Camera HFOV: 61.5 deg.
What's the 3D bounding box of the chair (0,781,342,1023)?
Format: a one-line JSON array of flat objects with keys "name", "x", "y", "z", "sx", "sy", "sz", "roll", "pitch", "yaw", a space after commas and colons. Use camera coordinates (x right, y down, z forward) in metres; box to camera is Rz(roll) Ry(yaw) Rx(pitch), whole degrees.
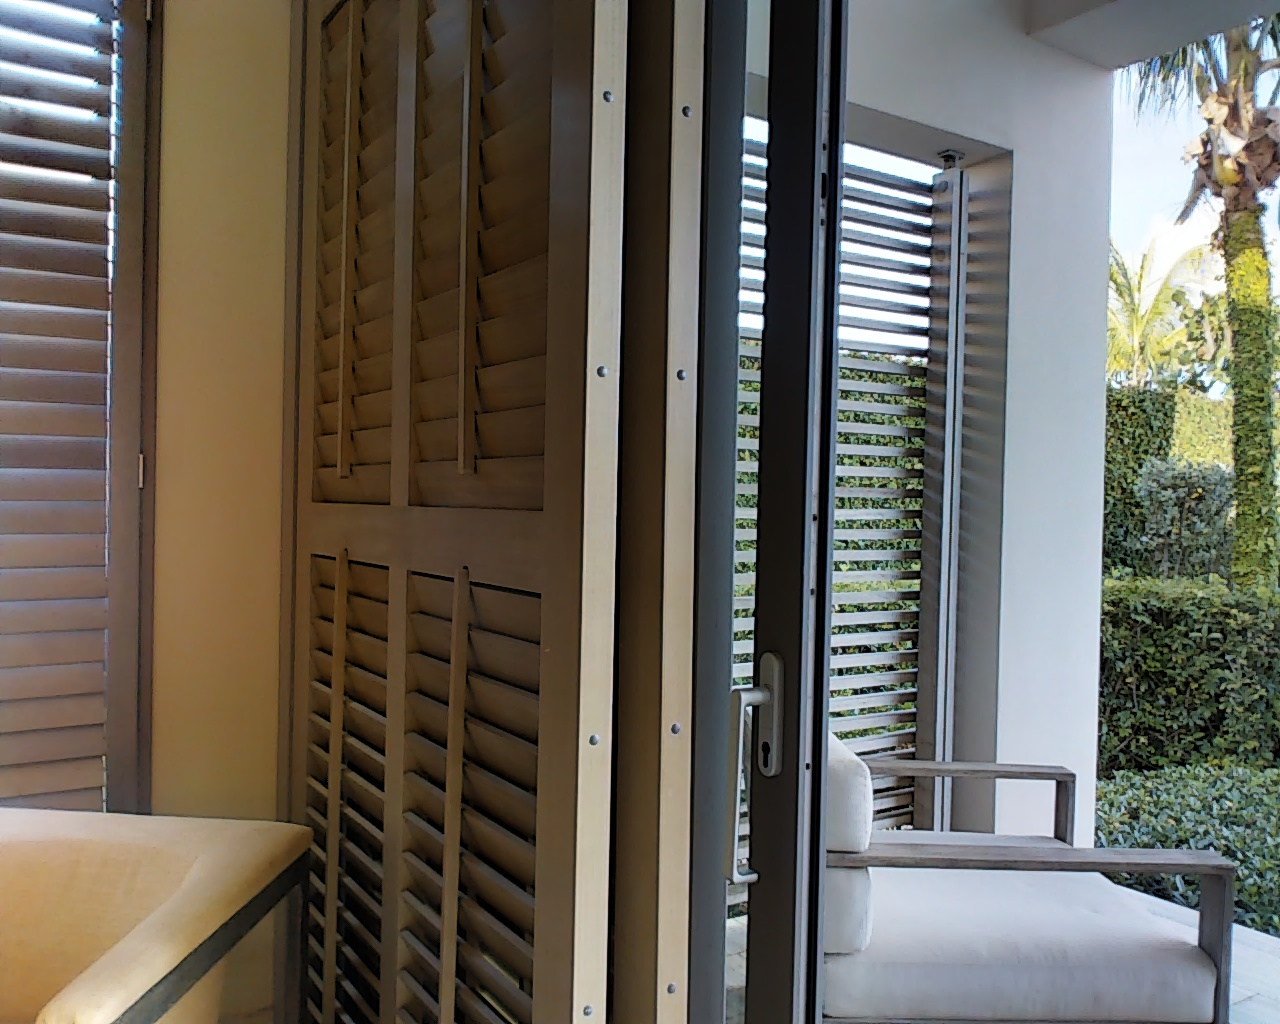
[{"name": "chair", "x": -0.950, "y": 0.840, "z": 1.610, "sx": 0.730, "sy": 0.640, "sz": 0.800, "roll": 1, "pitch": 1, "yaw": 5}]
